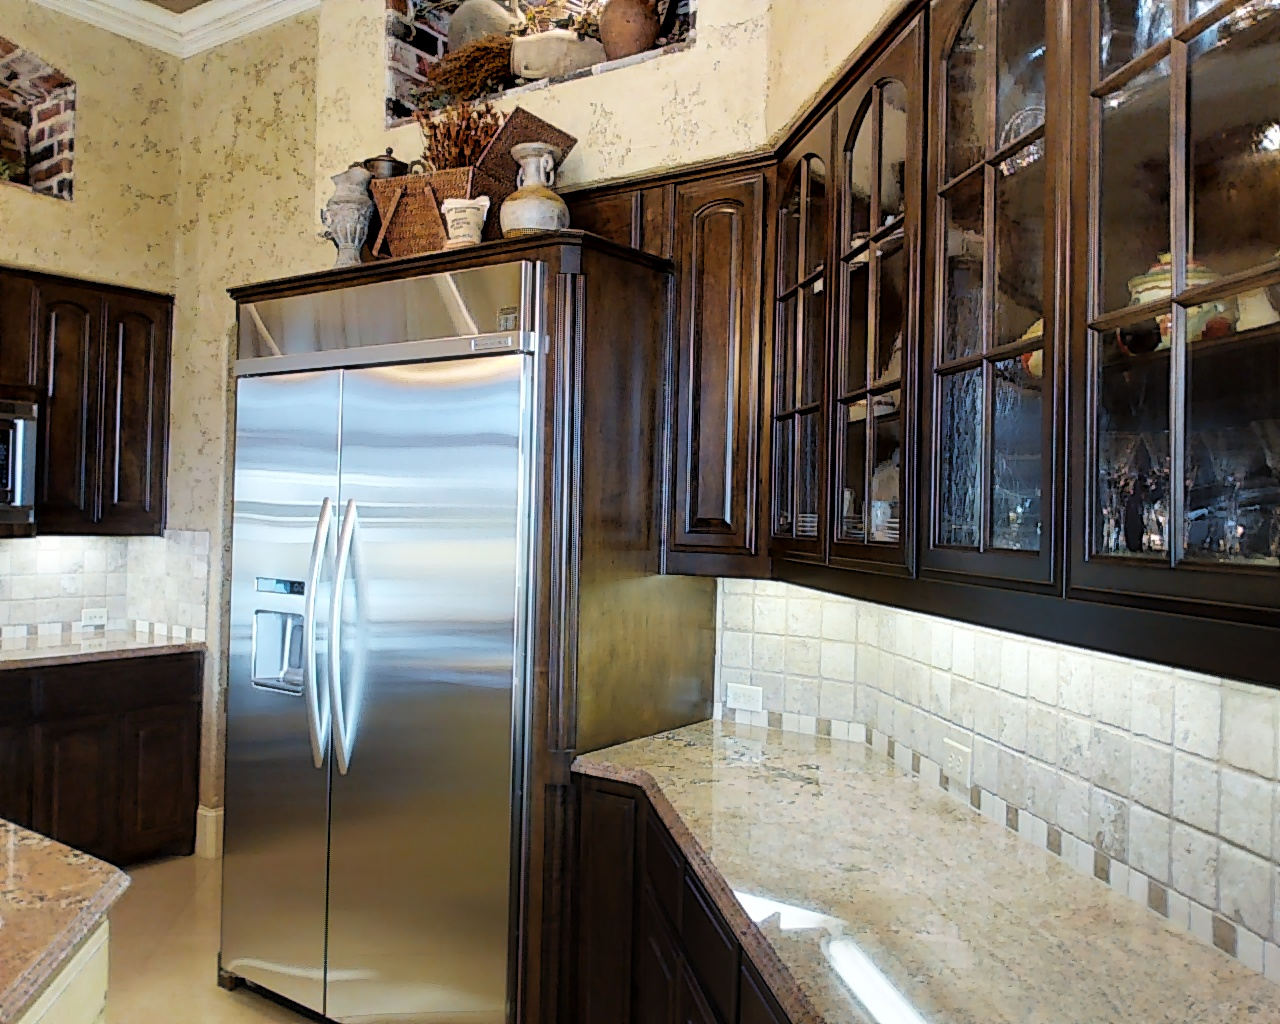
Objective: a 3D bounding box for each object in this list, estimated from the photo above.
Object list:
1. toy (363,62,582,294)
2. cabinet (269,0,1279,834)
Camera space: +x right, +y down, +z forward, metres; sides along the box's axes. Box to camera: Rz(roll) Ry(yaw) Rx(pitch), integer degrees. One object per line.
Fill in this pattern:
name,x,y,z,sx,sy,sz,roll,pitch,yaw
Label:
toy,-0.480,-0.920,3.060,0.530,0.480,0.330,1,-1,37
cabinet,0.130,-0.920,2.550,1.120,2.351,3.680,1,-1,-31
